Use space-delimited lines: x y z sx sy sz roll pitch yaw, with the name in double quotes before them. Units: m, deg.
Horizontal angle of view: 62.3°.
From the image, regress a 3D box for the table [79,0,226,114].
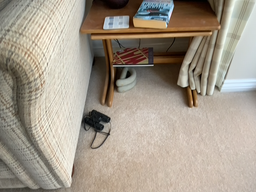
"table" 0.100 -0.290 1.190 0.570 0.480 0.570 -3 46 2
